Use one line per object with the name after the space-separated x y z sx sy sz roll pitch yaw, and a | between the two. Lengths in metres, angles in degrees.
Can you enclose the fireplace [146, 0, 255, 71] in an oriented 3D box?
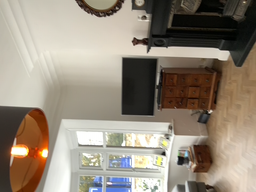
0.840 -1.090 2.310 1.510 1.120 0.670 94 178 -48 | fireplace
